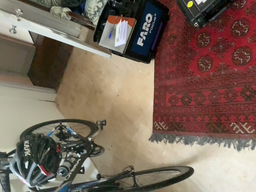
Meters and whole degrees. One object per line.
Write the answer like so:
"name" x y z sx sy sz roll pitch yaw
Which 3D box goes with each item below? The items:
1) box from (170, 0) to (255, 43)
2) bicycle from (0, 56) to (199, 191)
"box" 0.490 -0.580 1.290 0.360 0.140 0.320 -40 56 33
"bicycle" -0.420 0.400 1.550 1.260 1.030 0.760 40 110 42
